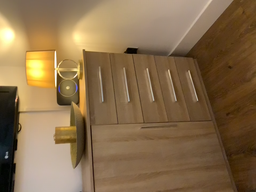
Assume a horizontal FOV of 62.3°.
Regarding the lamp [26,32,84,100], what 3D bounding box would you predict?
[{"bbox_3d":[-0.480,-0.180,1.410,0.350,0.310,0.290,126,140,-59],"label":"lamp"}]
